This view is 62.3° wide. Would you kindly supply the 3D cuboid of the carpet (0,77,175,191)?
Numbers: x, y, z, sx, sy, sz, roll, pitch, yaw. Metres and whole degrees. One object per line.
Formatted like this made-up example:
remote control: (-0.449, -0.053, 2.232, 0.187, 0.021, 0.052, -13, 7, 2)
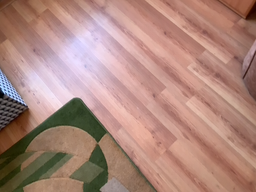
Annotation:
carpet: (-0.180, 0.670, 1.140, 0.850, 0.030, 1.480, -40, 73, -9)
